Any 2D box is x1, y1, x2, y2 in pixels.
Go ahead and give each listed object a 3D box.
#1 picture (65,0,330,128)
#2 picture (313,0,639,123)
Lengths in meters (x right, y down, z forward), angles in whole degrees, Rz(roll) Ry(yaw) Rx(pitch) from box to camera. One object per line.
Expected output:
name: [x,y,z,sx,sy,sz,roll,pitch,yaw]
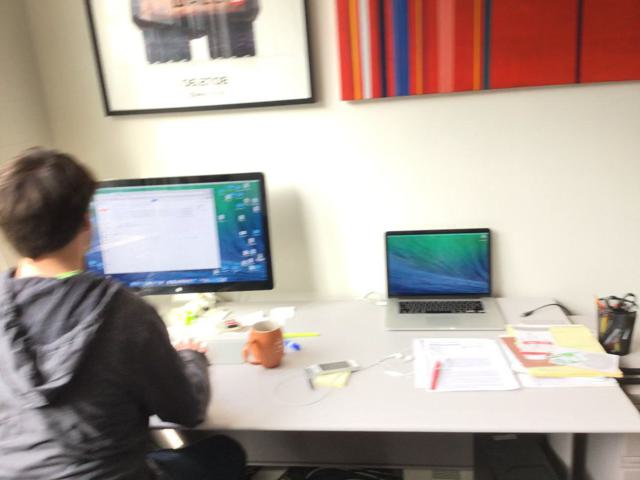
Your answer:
picture: [-0.410,-0.910,1.730,0.780,1.060,0.100,-3,14,11]
picture: [0.580,-0.920,1.610,1.240,1.060,0.090,-3,14,11]
